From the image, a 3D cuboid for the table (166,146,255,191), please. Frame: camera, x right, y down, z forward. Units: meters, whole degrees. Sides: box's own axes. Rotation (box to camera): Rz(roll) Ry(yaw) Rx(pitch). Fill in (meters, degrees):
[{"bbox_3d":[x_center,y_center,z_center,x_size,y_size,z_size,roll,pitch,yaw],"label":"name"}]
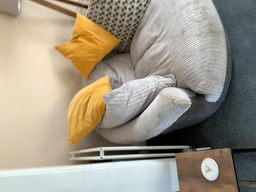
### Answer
[{"bbox_3d":[0.530,0.480,1.190,0.360,0.460,0.360,-28,62,56],"label":"table"}]
